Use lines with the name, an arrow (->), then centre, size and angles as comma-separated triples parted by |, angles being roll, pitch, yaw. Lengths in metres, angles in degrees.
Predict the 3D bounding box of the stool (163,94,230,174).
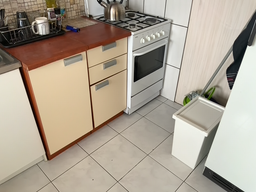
stool -> 0.520, 0.280, 1.650 | 0.280, 0.410, 0.370 | 28, 43, 33
